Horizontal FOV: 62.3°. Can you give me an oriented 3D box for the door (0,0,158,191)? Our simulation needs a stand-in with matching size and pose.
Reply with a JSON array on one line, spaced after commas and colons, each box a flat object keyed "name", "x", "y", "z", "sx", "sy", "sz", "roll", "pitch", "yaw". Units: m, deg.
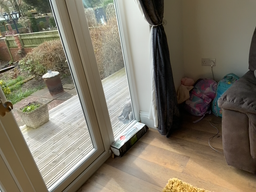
[{"name": "door", "x": -0.720, "y": -0.110, "z": 0.980, "sx": 0.250, "sy": 2.360, "sz": 2.640, "roll": 11, "pitch": 33, "yaw": 35}]
